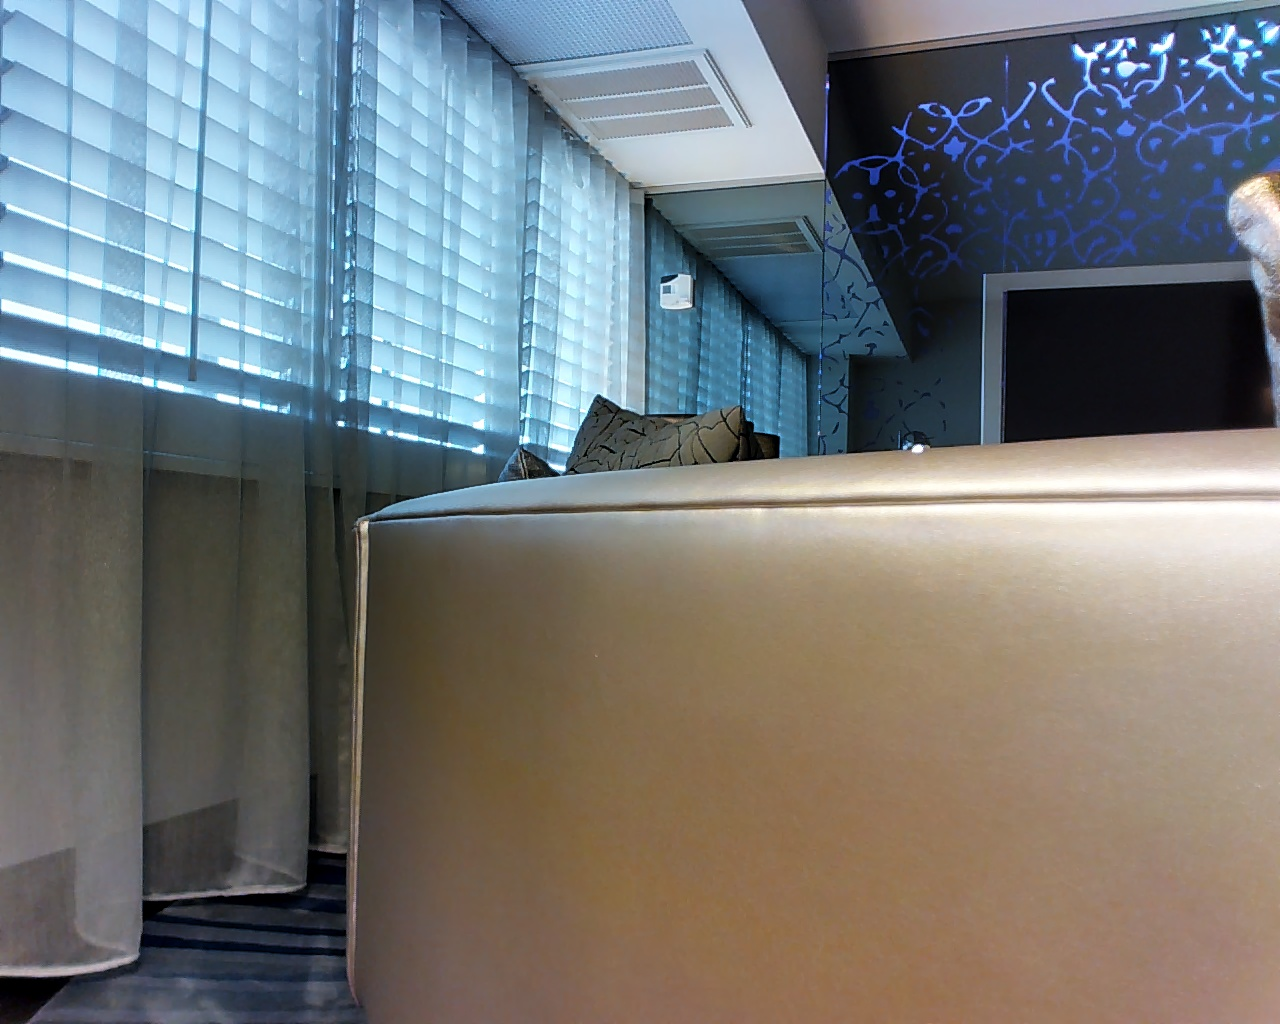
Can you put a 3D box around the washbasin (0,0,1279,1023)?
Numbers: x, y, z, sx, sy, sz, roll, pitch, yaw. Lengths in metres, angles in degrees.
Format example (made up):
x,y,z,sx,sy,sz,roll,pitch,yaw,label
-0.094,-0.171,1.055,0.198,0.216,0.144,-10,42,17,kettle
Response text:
x,y,z,sx,sy,sz,roll,pitch,yaw,label
1.830,-0.680,1.340,4.040,2.670,4.650,1,-1,19,washbasin
